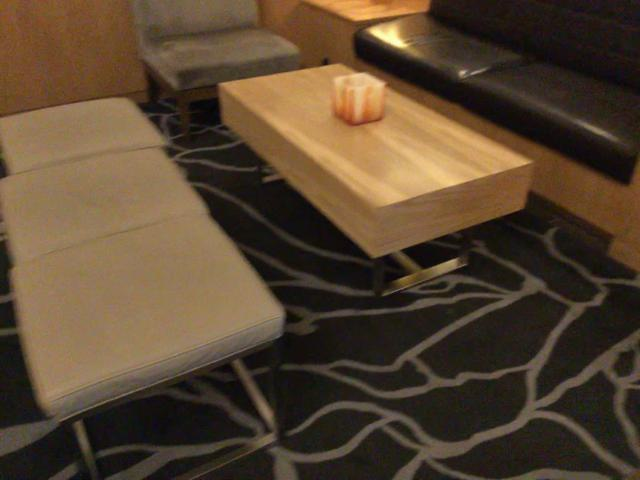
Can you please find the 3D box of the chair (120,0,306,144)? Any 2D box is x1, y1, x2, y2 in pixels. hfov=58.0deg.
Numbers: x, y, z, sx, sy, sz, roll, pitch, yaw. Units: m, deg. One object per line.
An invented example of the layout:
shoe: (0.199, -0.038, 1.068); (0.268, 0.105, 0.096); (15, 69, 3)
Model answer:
chair: (-0.590, -1.100, 3.180); (0.760, 0.800, 0.700); (-18, 38, -28)

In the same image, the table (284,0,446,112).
table: (0.250, -1.280, 3.650); (0.660, 0.610, 0.760); (-18, 38, -28)

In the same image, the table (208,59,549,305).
table: (0.130, -0.330, 2.250); (0.660, 0.340, 1.240); (-17, 38, -28)

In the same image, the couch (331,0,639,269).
couch: (0.890, -0.830, 2.730); (0.700, 0.930, 1.900); (-18, 38, -28)
